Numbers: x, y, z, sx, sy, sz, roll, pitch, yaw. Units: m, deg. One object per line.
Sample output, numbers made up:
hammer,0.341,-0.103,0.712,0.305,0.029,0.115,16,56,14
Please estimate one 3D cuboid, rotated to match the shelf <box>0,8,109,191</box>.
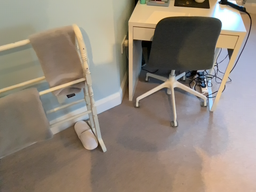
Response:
shelf,-0.550,0.100,1.170,0.780,0.910,0.300,-21,49,-20
